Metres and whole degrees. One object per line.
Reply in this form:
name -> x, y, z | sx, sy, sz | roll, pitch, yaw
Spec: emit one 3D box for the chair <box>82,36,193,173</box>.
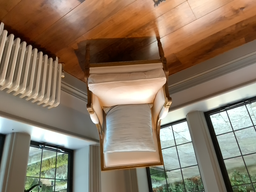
chair -> 0.010, 0.100, 1.920 | 0.720, 0.950, 0.760 | -4, 151, -4
